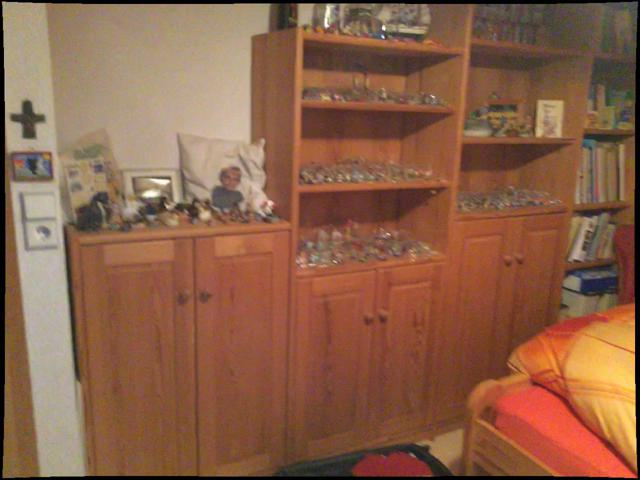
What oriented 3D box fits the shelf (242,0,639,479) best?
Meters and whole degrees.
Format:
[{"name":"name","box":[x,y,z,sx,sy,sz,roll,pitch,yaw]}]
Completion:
[{"name":"shelf","box":[0.699,-0.210,2.670,1.998,2.132,0.520,-8,19,-26]}]
